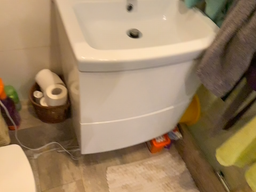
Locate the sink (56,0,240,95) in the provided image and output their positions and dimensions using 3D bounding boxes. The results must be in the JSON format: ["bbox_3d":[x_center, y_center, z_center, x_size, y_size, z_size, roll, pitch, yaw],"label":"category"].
[{"bbox_3d":[0.050,-0.260,0.820,0.560,0.110,0.450,-11,55,-20],"label":"sink"}]

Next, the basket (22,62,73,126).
[{"bbox_3d":[-0.400,-0.010,1.070,0.180,0.210,0.200,-14,56,-22],"label":"basket"}]

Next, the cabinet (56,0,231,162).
[{"bbox_3d":[0.000,-0.080,1.040,0.550,0.600,0.450,-11,55,-20],"label":"cabinet"}]
